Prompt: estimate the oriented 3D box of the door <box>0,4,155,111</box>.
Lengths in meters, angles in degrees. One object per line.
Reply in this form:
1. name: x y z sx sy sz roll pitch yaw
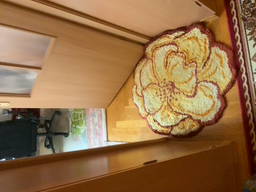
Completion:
1. door: -0.780 -0.180 1.390 0.810 2.230 0.060 -51 54 31
